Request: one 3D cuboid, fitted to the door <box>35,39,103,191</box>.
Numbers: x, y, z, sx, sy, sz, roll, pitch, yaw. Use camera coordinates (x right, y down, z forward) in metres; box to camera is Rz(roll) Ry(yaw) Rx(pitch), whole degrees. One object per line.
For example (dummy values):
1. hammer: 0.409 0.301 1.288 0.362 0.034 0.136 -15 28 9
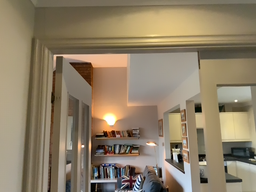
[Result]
1. door: -0.330 0.810 1.420 0.200 2.100 0.940 -1 -10 1
